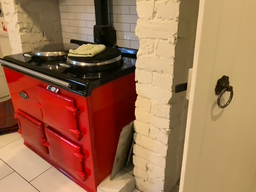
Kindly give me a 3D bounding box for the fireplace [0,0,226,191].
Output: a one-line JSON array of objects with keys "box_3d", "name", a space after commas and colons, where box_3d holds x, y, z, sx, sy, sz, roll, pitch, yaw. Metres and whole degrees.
[{"box_3d": [-0.350, -0.260, 1.660, 1.730, 1.500, 0.880, 19, 31, 35], "name": "fireplace"}]
